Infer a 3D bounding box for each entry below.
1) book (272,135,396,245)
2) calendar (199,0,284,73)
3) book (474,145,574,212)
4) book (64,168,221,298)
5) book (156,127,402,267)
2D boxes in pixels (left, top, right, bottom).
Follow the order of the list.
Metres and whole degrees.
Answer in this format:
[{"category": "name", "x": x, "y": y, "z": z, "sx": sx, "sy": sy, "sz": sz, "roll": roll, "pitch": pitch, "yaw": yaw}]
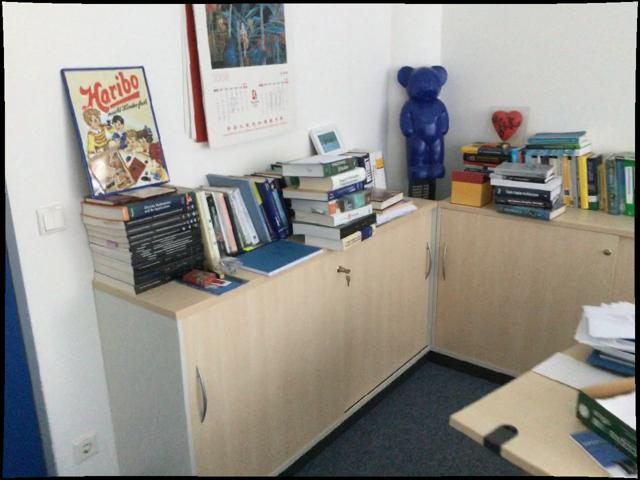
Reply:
[{"category": "book", "x": 0.060, "y": -0.210, "z": 2.230, "sx": 0.310, "sy": 0.310, "sz": 0.370, "roll": 13, "pitch": 25, "yaw": 34}, {"category": "calendar", "x": -0.280, "y": -0.811, "z": 2.140, "sx": 0.050, "sy": 0.360, "sz": 0.400, "roll": 13, "pitch": 21, "yaw": 33}, {"category": "book", "x": 0.899, "y": -0.280, "z": 2.550, "sx": 0.330, "sy": 0.200, "sz": 0.290, "roll": 13, "pitch": 24, "yaw": 33}, {"category": "book", "x": -0.549, "y": -0.040, "z": 1.840, "sx": 0.280, "sy": 0.280, "sz": 0.350, "roll": 13, "pitch": 24, "yaw": 33}, {"category": "book", "x": -0.080, "y": -0.240, "z": 2.410, "sx": 0.270, "sy": 0.260, "sz": 1.260, "roll": 13, "pitch": 24, "yaw": 33}]
